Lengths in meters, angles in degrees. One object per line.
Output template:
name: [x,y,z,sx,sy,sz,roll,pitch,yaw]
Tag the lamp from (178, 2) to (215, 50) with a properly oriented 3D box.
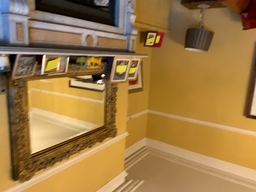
lamp: [1.040,-1.030,3.210,0.380,0.640,0.390,10,-166,31]
